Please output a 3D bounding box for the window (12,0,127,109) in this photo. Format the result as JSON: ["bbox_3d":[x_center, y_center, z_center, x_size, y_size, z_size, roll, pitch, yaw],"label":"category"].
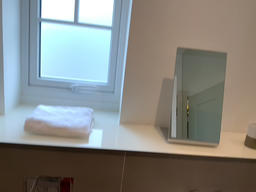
[{"bbox_3d":[-0.300,-0.380,1.110,0.560,0.860,0.080,6,13,-4],"label":"window"}]
